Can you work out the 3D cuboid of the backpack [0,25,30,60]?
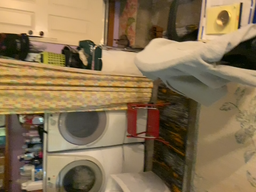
[{"bbox_3d":[-1.520,-0.680,2.710,0.260,0.470,0.330,159,109,-63],"label":"backpack"}]
